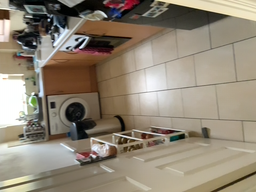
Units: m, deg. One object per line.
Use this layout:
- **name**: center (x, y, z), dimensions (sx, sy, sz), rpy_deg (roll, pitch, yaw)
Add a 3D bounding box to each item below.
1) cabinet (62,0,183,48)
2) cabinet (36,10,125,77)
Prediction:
- **cabinet**: center (-0.060, -0.810, 1.900), dimensions (0.490, 0.920, 0.580), rpy_deg (-12, 83, 60)
- **cabinet**: center (-0.730, -0.660, 3.050), dimensions (1.010, 0.930, 0.580), rpy_deg (-12, 83, 60)
